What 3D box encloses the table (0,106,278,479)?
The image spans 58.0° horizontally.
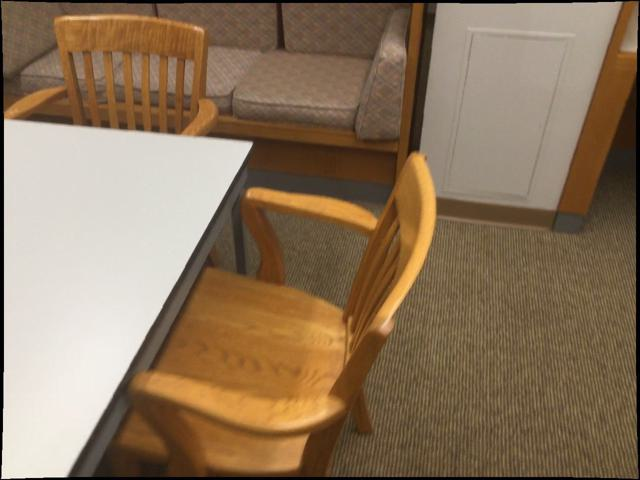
[{"bbox_3d":[-0.698,0.251,1.350,0.978,0.751,0.881,8,40,9],"label":"table"}]
